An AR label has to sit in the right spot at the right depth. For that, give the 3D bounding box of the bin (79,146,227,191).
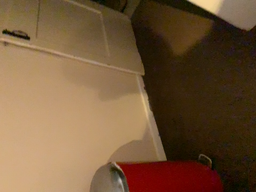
[{"bbox_3d":[0.140,0.490,1.070,0.320,0.670,0.340,-48,43,42],"label":"bin"}]
